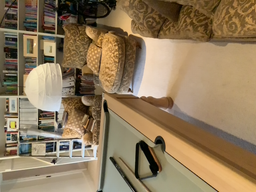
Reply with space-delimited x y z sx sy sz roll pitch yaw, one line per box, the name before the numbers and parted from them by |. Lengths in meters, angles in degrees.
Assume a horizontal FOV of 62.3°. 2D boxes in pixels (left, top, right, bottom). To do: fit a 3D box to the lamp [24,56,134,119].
lamp | -0.770 -0.150 3.240 0.740 1.450 0.700 34 120 59
